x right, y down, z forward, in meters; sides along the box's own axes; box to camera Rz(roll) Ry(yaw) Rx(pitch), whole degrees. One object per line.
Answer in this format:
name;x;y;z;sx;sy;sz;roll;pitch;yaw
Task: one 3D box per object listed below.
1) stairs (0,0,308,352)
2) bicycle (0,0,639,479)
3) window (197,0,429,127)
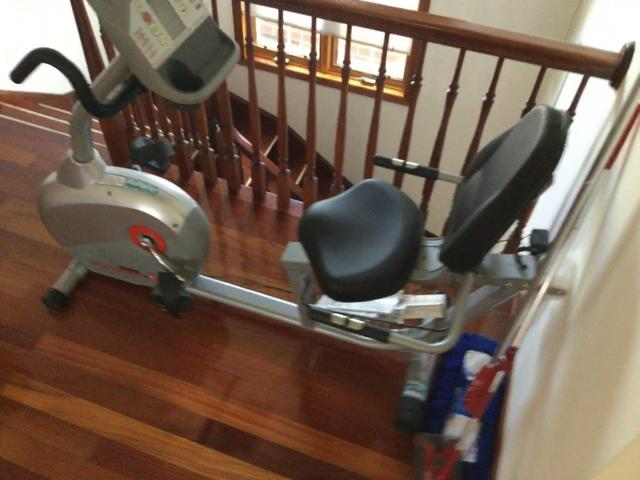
stairs;-1.020;-0.580;3.500;1.250;1.280;1.770;18;44;8
bicycle;-0.180;-0.220;1.510;1.540;1.200;0.730;16;43;10
window;-0.050;-1.550;3.470;1.390;1.480;0.300;16;43;10
